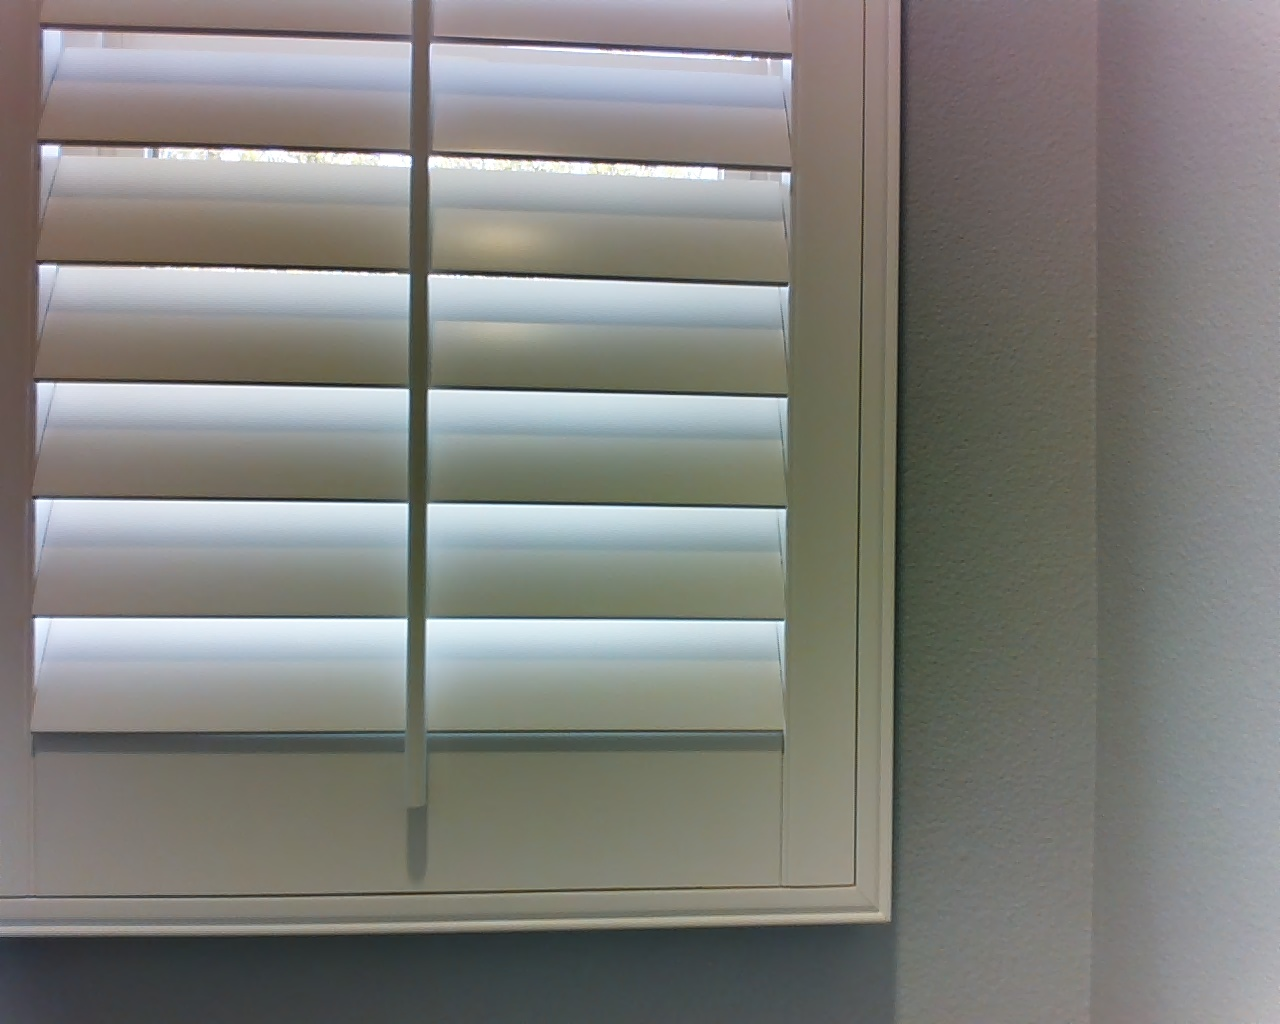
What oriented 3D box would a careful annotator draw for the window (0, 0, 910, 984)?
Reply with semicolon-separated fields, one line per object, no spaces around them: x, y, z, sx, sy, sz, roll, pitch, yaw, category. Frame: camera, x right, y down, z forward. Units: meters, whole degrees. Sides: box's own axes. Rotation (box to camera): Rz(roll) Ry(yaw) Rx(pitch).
-0.130;-0.330;0.730;0.610;1.241;0.090;0;-1;-5;window
